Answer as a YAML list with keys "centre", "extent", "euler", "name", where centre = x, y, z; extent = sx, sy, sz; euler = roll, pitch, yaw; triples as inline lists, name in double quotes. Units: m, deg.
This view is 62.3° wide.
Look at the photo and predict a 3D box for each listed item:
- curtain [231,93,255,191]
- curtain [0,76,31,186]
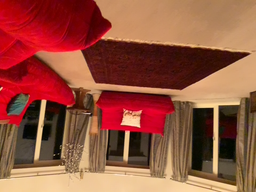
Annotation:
- centre: [2.240, 0.930, 3.960]
  extent: [0.270, 1.930, 0.510]
  euler: [10, 170, -39]
  name: "curtain"
- centre: [-2.320, 0.660, 4.120]
  extent: [0.290, 2.000, 0.470]
  euler: [-3, 170, 42]
  name: "curtain"
